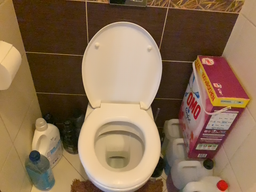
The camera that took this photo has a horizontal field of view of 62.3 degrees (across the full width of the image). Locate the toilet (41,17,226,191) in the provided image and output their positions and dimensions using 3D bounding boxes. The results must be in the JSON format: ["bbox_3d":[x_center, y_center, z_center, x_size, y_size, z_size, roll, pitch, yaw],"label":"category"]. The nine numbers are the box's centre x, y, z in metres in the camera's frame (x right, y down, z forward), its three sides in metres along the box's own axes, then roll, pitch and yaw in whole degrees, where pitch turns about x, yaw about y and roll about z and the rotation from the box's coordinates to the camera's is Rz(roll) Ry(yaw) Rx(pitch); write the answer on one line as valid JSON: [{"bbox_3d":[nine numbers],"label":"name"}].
[{"bbox_3d":[-0.020,0.150,0.950,0.430,0.760,0.560,4,42,-4],"label":"toilet"}]

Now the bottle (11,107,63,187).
[{"bbox_3d":[-0.470,0.280,1.160,0.140,0.340,0.280,2,42,-6],"label":"bottle"}]
